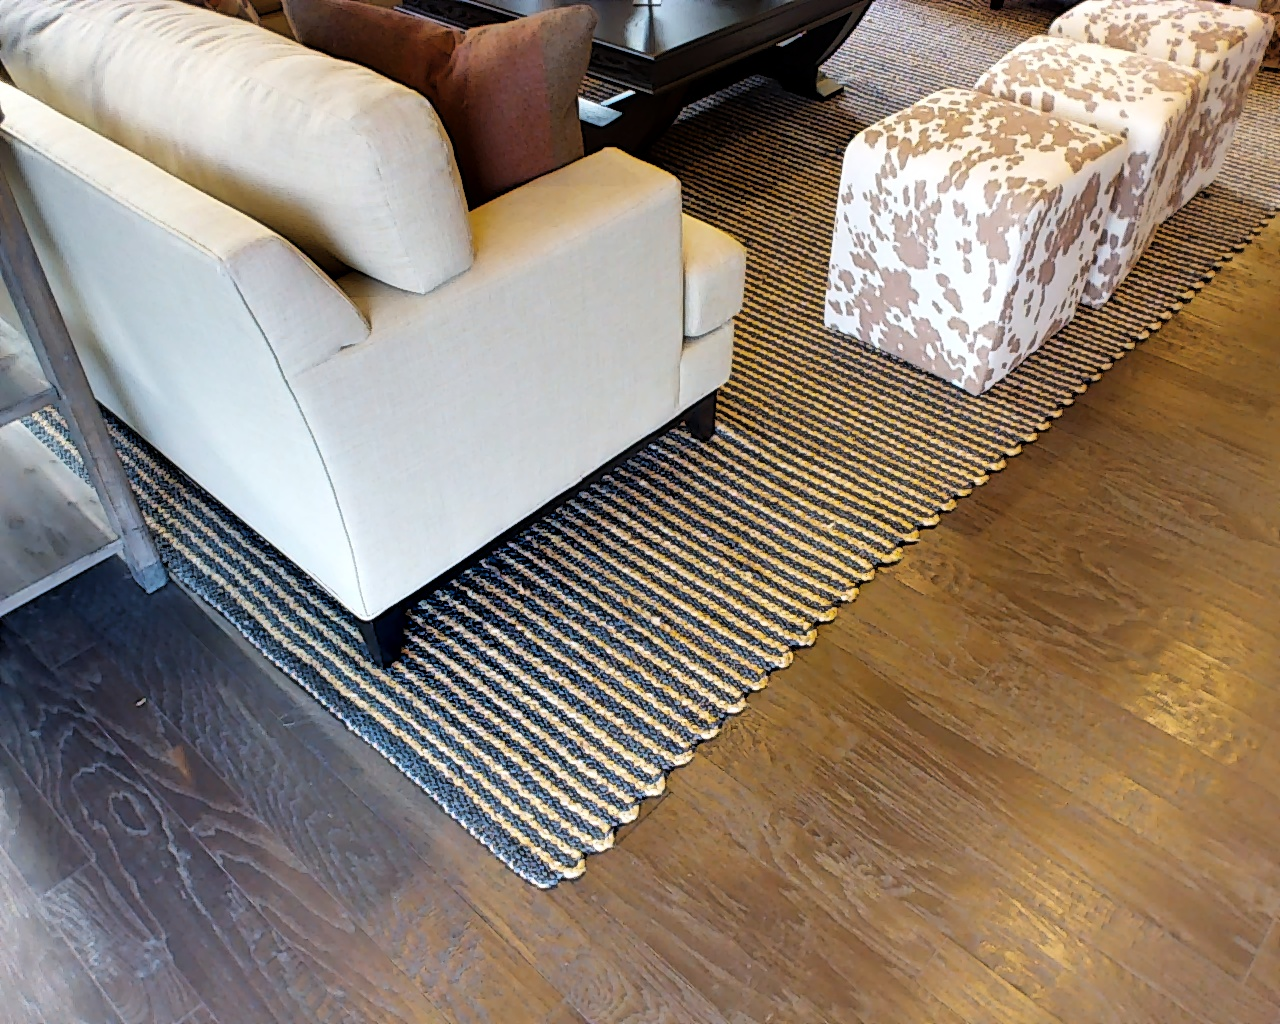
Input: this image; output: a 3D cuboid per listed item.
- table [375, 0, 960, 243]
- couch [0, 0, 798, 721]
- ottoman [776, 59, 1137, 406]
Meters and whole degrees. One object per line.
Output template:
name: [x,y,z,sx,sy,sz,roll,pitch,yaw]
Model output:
table: [0.140,-1.550,3.440,1.100,0.510,1.550,31,51,30]
couch: [-0.950,-0.790,2.290,2.280,0.930,1.100,31,51,30]
ottoman: [0.700,-0.660,2.460,0.540,0.490,0.500,31,51,30]
